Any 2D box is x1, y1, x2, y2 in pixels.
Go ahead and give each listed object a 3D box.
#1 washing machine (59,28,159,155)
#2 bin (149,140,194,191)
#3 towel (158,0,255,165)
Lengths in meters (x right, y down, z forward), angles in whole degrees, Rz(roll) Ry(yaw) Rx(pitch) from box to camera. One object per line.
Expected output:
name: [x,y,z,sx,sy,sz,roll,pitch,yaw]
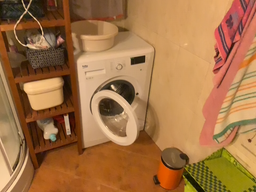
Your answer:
washing machine: [-0.180,-0.060,1.810,0.570,0.820,0.540,-15,39,-25]
bin: [0.300,0.510,1.530,0.180,0.260,0.230,-13,39,-22]
towel: [0.390,-0.190,1.030,0.160,1.140,0.360,-13,39,-22]
